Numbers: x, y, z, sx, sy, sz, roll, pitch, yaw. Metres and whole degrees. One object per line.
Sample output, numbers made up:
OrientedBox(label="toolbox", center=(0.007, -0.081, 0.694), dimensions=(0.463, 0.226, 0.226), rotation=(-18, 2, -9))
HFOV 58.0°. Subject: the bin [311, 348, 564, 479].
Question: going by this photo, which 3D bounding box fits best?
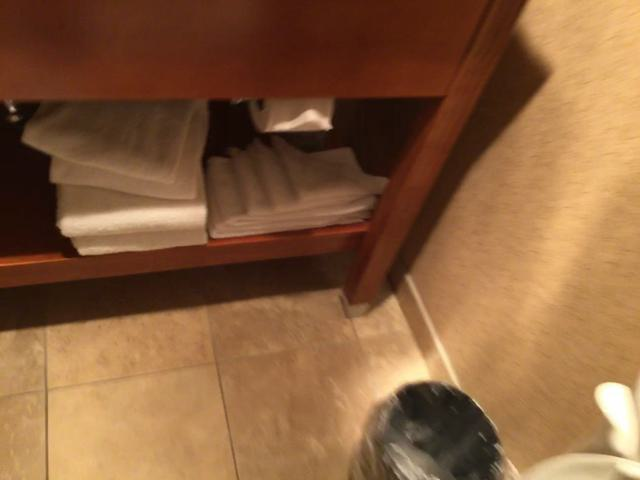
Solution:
OrientedBox(label="bin", center=(0.190, 0.390, 1.060), dimensions=(0.310, 0.280, 0.230), rotation=(-5, 53, -20))
